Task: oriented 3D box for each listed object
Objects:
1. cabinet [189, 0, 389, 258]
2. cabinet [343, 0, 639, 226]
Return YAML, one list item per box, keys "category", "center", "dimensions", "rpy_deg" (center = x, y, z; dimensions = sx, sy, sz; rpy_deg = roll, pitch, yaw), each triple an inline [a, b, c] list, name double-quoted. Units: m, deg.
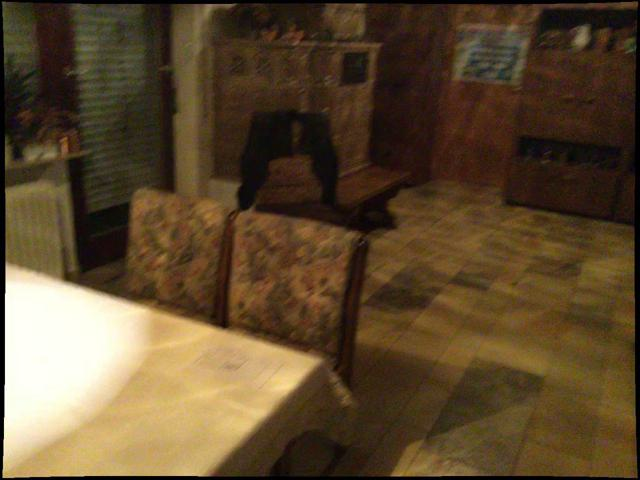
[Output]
- category: "cabinet"
  center: [-0.190, -0.971, 4.390]
  dimensions: [0.859, 1.762, 1.280]
  rpy_deg: [13, 23, 28]
- category: "cabinet"
  center: [2.058, -1.572, 5.250]
  dimensions: [3.727, 2.462, 0.680]
  rpy_deg: [13, 23, 28]
